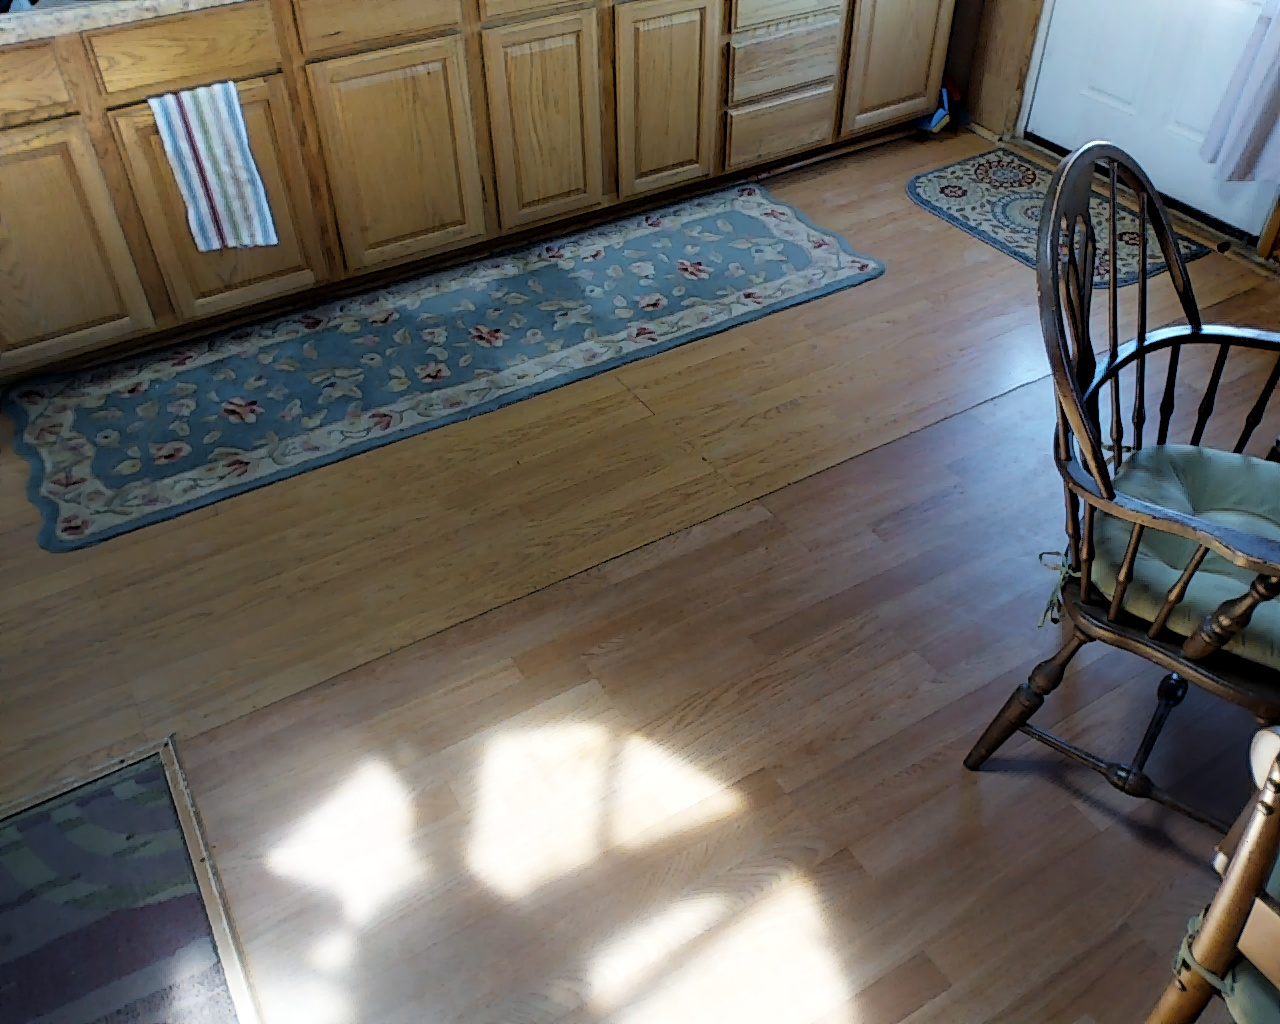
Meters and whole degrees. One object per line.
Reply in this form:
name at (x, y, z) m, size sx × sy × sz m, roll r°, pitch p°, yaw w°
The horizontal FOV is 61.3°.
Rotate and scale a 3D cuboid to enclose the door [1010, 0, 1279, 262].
door at (1.560, -1.780, 2.740) m, size 0.070 × 2.040 × 1.040 m, roll -22°, pitch 46°, yaw -21°
